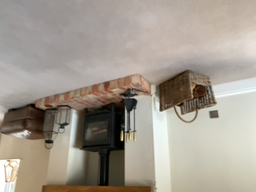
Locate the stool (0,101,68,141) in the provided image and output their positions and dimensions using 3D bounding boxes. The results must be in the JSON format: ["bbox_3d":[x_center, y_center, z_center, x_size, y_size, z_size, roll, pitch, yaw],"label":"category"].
[{"bbox_3d":[-1.370,0.400,3.160,0.630,0.390,0.630,-12,156,29],"label":"stool"}]
